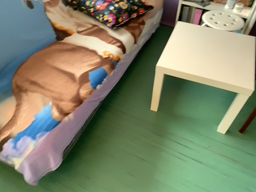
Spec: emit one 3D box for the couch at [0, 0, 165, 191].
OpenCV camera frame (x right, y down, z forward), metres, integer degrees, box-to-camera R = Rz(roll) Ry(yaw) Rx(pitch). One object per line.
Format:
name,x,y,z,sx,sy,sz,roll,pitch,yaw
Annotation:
couch,-0.450,-0.540,1.560,1.000,0.910,1.960,18,51,14

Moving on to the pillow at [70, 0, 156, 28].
pillow,-0.120,-0.800,1.720,0.510,0.140,0.480,33,56,25
